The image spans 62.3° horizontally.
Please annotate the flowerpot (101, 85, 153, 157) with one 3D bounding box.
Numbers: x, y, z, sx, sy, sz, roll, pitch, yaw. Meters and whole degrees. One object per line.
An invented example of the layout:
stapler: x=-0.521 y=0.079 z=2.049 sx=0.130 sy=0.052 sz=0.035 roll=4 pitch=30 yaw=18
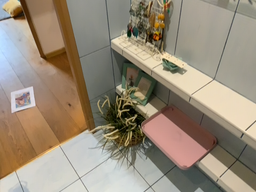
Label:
flowerpot: x=-0.010 y=0.180 z=1.520 sx=0.200 sy=0.360 sz=0.310 roll=-28 pitch=50 yaw=-25
